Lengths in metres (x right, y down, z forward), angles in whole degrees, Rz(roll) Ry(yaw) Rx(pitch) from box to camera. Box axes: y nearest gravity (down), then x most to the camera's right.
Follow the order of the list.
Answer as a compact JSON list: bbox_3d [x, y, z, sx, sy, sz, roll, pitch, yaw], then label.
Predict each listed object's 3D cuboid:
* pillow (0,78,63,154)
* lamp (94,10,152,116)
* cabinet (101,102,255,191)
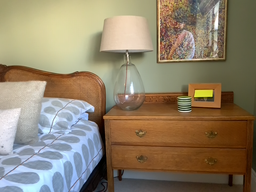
[{"bbox_3d":[-0.870,0.080,1.440,0.530,0.330,0.720,0,10,10],"label":"pillow"},{"bbox_3d":[-0.010,-0.220,1.510,0.340,0.660,0.310,0,10,10],"label":"lamp"},{"bbox_3d":[0.370,0.450,1.660,1.030,0.730,0.440,0,10,9],"label":"cabinet"}]
